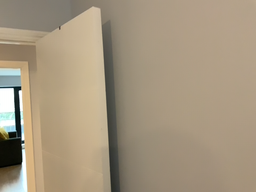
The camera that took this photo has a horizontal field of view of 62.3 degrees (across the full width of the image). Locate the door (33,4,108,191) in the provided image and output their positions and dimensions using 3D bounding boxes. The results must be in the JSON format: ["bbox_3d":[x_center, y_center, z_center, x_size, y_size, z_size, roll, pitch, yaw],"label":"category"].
[{"bbox_3d":[-0.380,0.580,1.320,0.040,2.000,0.830,-3,1,-42],"label":"door"}]
